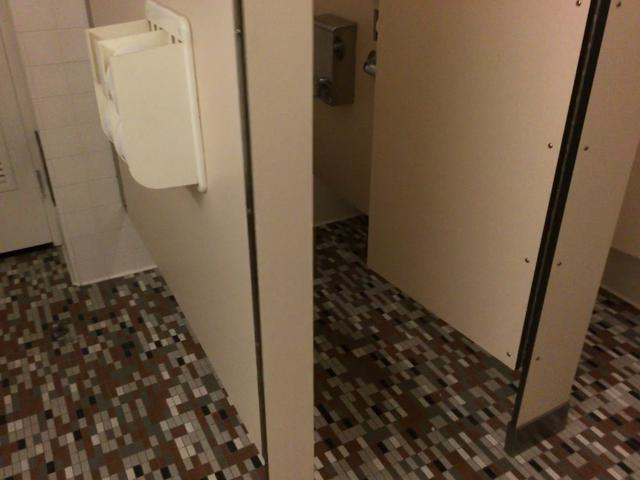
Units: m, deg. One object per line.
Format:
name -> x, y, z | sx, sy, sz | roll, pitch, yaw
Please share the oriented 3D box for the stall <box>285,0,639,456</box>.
stall -> 0.610, -0.510, 1.950 | 0.910, 1.590, 1.430 | -15, 31, -24
